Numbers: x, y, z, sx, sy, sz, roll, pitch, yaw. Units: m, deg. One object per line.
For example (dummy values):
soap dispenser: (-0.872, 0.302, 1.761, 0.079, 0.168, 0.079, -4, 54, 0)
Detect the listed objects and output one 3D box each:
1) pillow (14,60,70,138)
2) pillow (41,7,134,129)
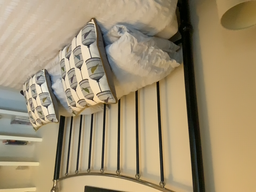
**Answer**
pillow: (-0.670, 0.040, 1.630, 0.230, 0.410, 0.410, 17, 136, -42)
pillow: (-0.240, -0.130, 1.080, 0.170, 0.390, 0.450, 20, 126, -43)
